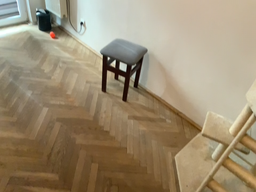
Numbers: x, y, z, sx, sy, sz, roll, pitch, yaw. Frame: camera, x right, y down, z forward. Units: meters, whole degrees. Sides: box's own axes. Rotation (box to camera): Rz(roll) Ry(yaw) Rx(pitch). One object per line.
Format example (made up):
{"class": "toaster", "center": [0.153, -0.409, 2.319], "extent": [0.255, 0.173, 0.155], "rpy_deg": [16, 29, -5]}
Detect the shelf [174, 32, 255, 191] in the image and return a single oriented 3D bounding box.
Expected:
{"class": "shelf", "center": [0.780, 0.230, 1.290], "extent": [0.450, 1.100, 0.550], "rpy_deg": [-25, 52, -34]}
